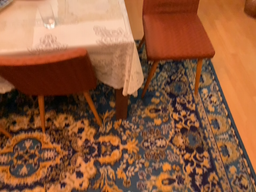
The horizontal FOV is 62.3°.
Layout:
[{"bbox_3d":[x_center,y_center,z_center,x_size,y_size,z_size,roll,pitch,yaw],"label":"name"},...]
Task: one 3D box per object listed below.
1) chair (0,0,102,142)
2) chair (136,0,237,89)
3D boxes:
[{"bbox_3d":[-0.390,-0.130,1.240,0.400,0.780,0.510,-4,58,-6],"label":"chair"},{"bbox_3d":[0.310,-0.490,1.500,0.400,0.800,0.510,-2,58,-5],"label":"chair"}]
